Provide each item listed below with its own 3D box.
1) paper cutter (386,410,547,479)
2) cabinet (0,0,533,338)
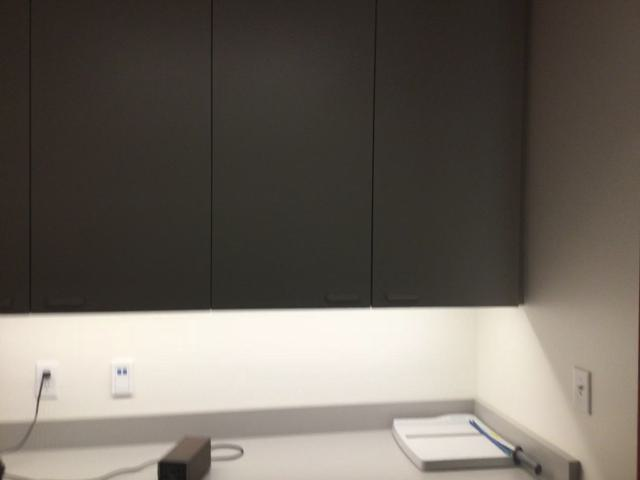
[{"bbox_3d":[0.450,0.670,1.890,0.340,0.060,0.480,-1,1,-11],"label":"paper cutter"},{"bbox_3d":[-0.330,-0.290,1.750,1.990,1.080,0.210,-1,1,-11],"label":"cabinet"}]
